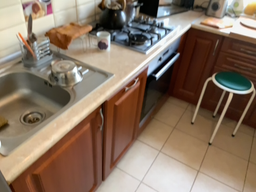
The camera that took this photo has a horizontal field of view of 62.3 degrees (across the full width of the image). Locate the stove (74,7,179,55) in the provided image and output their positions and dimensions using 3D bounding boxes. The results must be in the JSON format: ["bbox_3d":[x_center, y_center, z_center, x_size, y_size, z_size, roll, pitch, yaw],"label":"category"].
[{"bbox_3d":[0.010,-0.520,1.590,0.560,0.060,0.580,23,41,22],"label":"stove"}]

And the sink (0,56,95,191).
[{"bbox_3d":[-0.510,0.070,0.970,0.550,0.210,0.440,23,41,22],"label":"sink"}]

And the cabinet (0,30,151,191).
[{"bbox_3d":[-0.400,0.220,1.310,0.610,0.860,0.960,23,41,22],"label":"cabinet"}]

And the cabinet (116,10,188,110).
[{"bbox_3d":[0.190,-0.340,2.120,0.590,0.840,0.170,23,41,22],"label":"cabinet"}]
